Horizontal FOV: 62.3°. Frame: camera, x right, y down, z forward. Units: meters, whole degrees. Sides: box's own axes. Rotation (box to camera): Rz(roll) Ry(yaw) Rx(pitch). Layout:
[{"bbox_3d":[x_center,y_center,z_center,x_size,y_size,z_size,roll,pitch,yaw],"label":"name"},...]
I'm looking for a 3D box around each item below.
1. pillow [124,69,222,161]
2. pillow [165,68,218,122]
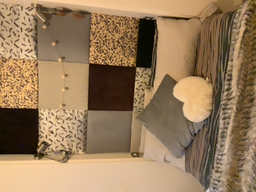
[{"bbox_3d":[0.400,0.220,2.020,0.610,0.580,0.470,-37,34,38],"label":"pillow"},{"bbox_3d":[0.540,-0.020,1.760,0.160,0.330,0.390,-27,-2,43],"label":"pillow"}]
